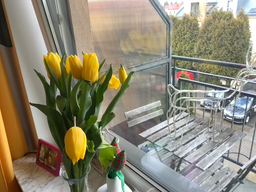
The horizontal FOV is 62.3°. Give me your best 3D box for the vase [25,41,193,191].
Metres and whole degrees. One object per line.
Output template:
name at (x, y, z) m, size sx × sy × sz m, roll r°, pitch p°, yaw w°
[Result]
vase at (-0.050, 0.160, 0.580) m, size 0.240 × 0.560 × 0.330 m, roll -19°, pitch 26°, yaw -33°
